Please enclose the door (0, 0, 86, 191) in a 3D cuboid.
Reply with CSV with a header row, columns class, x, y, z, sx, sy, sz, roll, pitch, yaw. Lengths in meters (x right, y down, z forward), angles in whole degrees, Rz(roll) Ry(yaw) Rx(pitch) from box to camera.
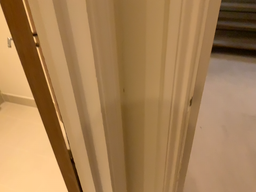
class,x,y,z,sx,sy,sz,roll,pitch,yaw
door,-0.400,-0.110,0.820,0.090,2.090,0.870,-20,40,-22
